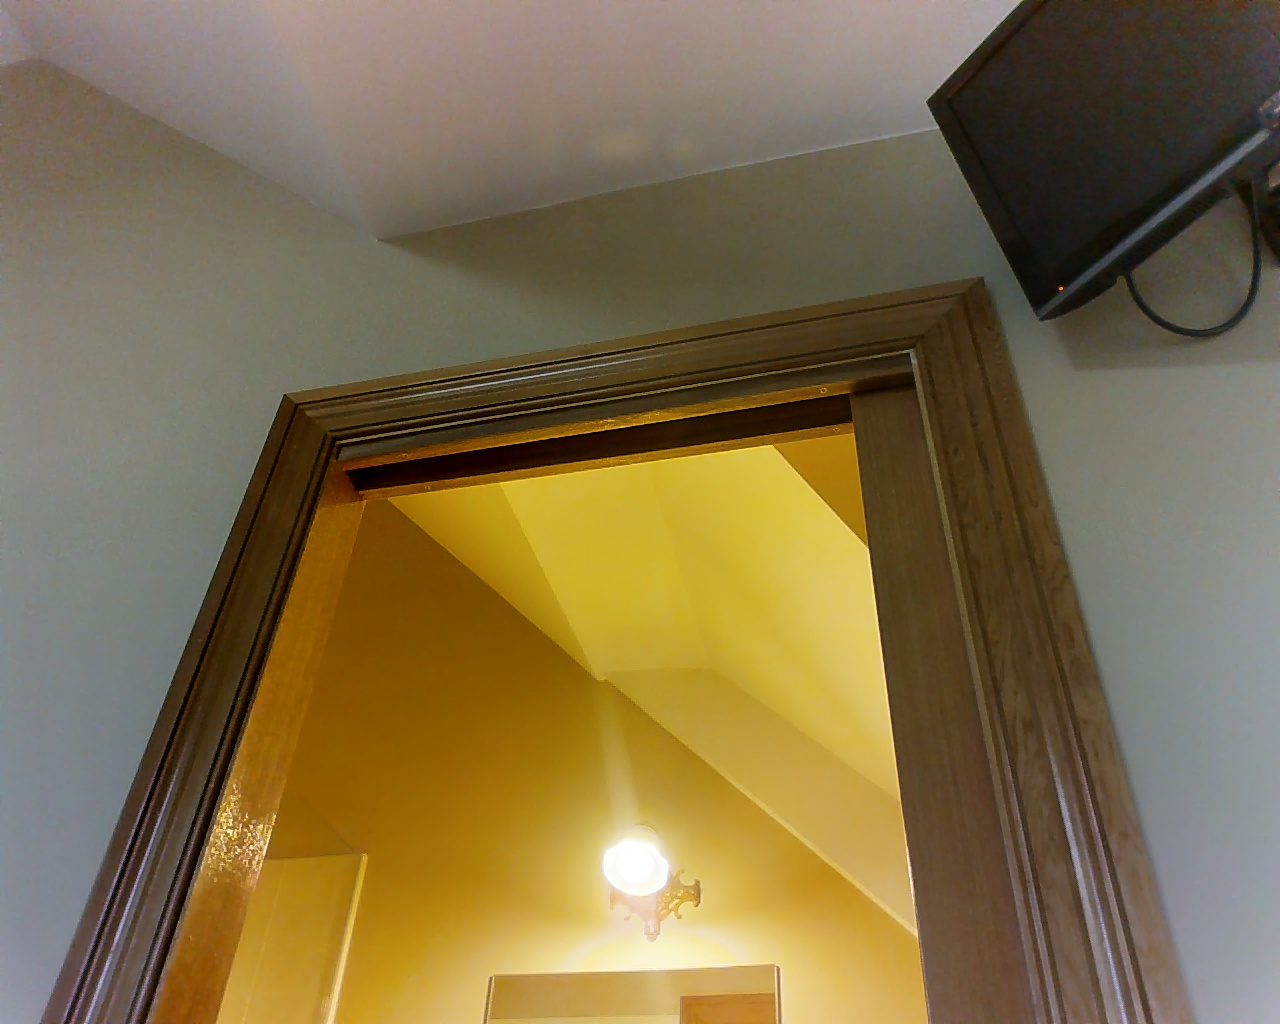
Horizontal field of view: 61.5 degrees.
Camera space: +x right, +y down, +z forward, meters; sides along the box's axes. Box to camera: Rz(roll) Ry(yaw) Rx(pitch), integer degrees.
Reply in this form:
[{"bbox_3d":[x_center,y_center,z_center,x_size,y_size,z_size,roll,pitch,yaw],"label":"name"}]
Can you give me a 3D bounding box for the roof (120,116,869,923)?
[{"bbox_3d":[-0.140,0.030,2.280,1.020,1.270,0.960,-8,-43,13],"label":"roof"}]
